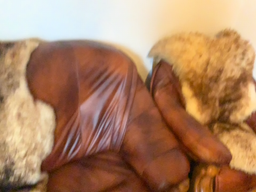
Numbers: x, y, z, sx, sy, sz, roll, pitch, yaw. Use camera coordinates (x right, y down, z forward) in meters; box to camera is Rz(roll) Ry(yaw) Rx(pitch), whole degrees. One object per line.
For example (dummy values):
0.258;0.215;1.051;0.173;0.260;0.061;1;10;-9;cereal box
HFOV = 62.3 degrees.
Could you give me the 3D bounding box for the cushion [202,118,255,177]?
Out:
0.730;0.330;1.400;0.380;0.090;0.280;27;39;26;cushion
